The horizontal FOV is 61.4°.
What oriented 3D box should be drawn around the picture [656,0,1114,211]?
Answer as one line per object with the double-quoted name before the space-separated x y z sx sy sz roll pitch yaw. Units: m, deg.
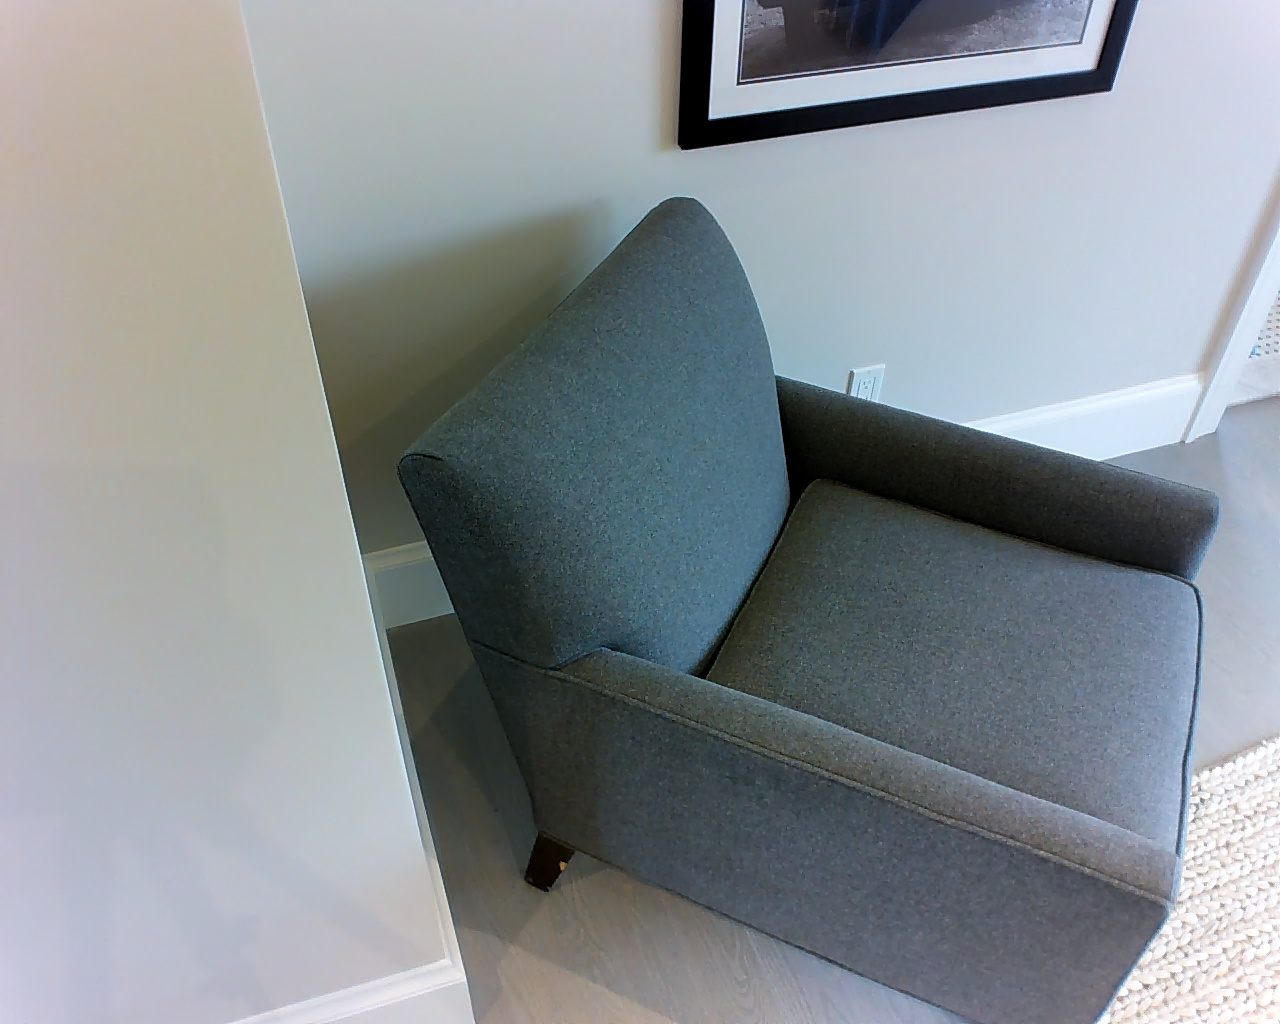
"picture" 0.390 -0.840 1.520 0.740 0.770 0.040 -12 44 -15
